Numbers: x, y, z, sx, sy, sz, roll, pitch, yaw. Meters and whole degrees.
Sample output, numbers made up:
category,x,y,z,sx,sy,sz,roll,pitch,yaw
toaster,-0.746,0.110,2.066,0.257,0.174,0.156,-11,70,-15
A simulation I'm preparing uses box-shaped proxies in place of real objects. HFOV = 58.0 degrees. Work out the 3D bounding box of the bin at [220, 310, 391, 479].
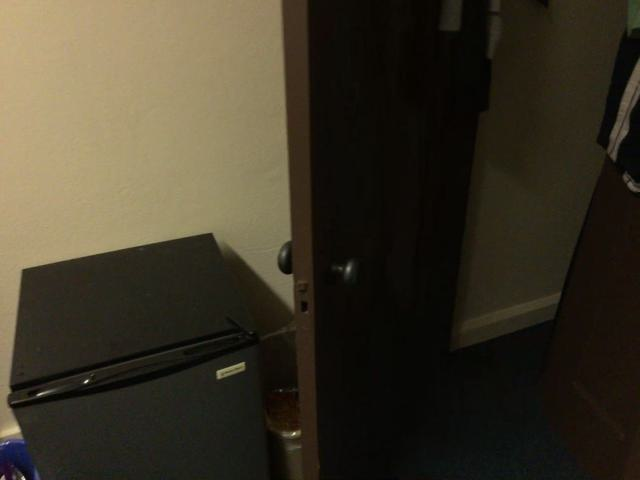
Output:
category,x,y,z,sx,sy,sz,roll,pitch,yaw
bin,-0.050,0.490,1.540,0.290,0.390,0.400,-13,32,-22

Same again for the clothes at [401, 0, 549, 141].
category,x,y,z,sx,sy,sz,roll,pitch,yaw
clothes,0.310,-0.670,1.040,0.200,0.940,0.180,-13,32,-22

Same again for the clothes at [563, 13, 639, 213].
category,x,y,z,sx,sy,sz,roll,pitch,yaw
clothes,0.710,-0.290,1.310,0.100,0.390,0.220,-13,32,-22
